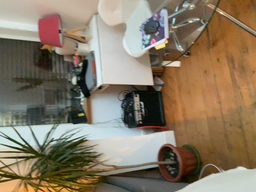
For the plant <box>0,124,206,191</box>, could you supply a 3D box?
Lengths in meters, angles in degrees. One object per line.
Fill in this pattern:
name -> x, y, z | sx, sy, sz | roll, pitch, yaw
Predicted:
plant -> -0.190, 0.500, 1.610 | 0.340, 1.740, 0.430 | -24, 69, 60
